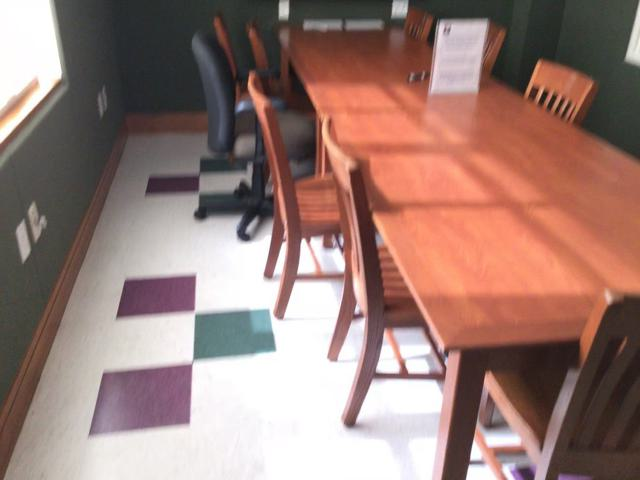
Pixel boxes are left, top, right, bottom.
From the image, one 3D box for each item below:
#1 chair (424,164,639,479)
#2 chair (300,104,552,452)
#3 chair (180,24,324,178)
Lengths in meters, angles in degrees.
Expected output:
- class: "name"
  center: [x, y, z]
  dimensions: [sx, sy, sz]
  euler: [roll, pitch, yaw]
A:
- class: "chair"
  center: [0.600, 0.360, 1.300]
  dimensions: [0.500, 0.890, 0.550]
  euler: [-5, 29, -9]
- class: "chair"
  center: [0.250, 0.100, 1.780]
  dimensions: [0.530, 0.880, 0.520]
  euler: [-5, 29, -9]
- class: "chair"
  center: [-0.330, -0.690, 2.750]
  dimensions: [0.580, 0.530, 0.670]
  euler: [-5, 29, -9]
